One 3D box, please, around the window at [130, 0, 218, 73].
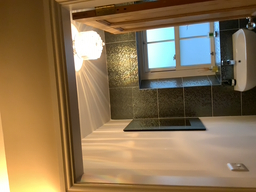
[{"bbox_3d":[0.650,-0.850,3.030,0.120,1.160,0.970,-34,-60,-77],"label":"window"}]
